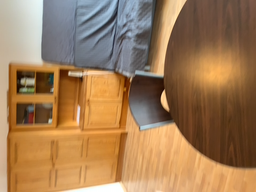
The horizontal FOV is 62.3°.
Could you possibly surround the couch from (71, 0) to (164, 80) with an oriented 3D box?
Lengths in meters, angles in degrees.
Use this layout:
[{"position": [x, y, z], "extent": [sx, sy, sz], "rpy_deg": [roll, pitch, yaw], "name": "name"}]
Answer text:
[{"position": [-0.190, -1.370, 3.030], "extent": [1.170, 0.920, 2.040], "rpy_deg": [-147, 62, -63], "name": "couch"}]
